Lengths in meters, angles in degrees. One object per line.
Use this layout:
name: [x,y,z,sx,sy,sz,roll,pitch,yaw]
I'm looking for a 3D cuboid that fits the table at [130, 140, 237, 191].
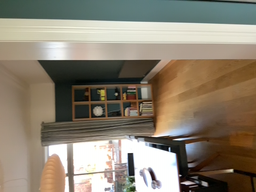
table: [0.650,1.310,3.500,2.440,0.720,1.000,138,129,-75]
